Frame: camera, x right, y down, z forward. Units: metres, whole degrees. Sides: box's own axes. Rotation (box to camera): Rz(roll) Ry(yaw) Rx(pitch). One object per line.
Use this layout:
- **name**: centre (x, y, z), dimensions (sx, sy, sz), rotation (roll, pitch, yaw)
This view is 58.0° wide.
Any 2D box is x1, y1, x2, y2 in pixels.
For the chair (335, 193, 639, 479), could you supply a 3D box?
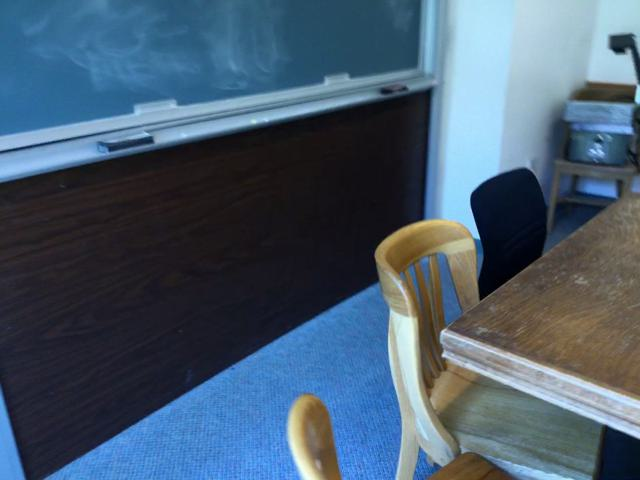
- **chair**: centre (0.480, 0.360, 1.490), dimensions (0.590, 0.750, 0.620), rotation (15, 28, 39)

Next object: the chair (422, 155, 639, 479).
- **chair**: centre (0.780, 0.230, 1.870), dimensions (0.640, 0.820, 0.600), rotation (-15, 24, -27)

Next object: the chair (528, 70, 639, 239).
- **chair**: centre (1.690, -0.550, 3.480), dimensions (0.540, 0.840, 0.670), rotation (15, 28, 39)
